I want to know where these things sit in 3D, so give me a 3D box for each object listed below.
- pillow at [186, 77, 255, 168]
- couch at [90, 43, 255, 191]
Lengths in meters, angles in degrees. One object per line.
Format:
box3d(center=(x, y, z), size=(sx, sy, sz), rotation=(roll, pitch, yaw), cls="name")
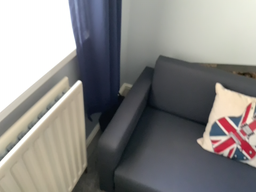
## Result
box3d(center=(0.620, 0.170, 1.180), size=(0.420, 0.370, 0.150), rotation=(36, 47, -6), cls="pillow")
box3d(center=(0.600, 0.340, 1.260), size=(1.390, 0.700, 0.780), rotation=(18, 45, 12), cls="couch")
